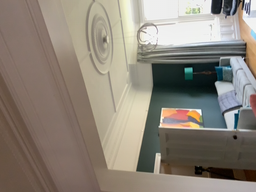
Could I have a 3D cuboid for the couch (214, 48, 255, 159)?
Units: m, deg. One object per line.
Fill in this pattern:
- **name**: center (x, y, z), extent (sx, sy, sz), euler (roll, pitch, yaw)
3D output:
- **couch**: center (2.500, 0.000, 4.800), extent (2.560, 0.650, 1.080), euler (-73, -21, -50)
